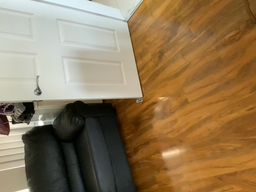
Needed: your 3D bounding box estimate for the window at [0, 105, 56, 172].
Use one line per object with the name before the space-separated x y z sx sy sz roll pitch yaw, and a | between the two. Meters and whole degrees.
window | -1.680 0.500 2.420 0.050 1.560 0.790 -42 58 45
